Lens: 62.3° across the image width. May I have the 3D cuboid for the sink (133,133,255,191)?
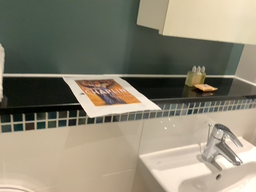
[{"bbox_3d":[0.370,0.340,0.720,0.550,0.160,0.430,-2,24,-27],"label":"sink"}]
